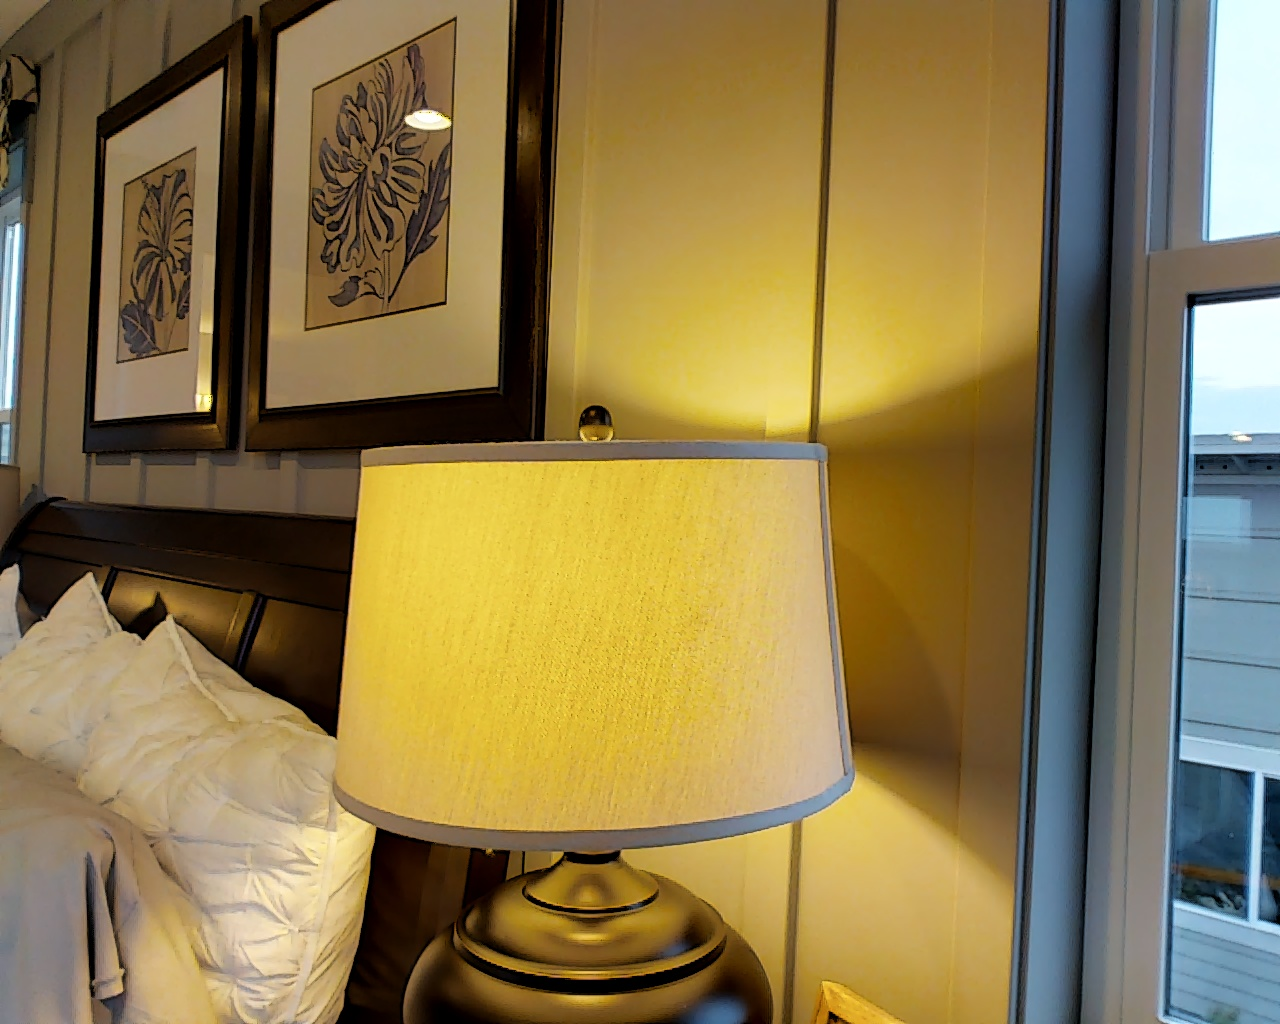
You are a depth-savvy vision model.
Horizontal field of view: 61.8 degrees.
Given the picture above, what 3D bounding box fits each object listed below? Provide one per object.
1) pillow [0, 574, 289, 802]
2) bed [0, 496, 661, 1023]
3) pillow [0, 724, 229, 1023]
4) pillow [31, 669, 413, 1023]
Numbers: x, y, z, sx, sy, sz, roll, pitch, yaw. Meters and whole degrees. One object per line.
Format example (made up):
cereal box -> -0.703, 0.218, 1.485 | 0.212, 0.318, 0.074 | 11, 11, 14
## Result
pillow -> -0.850, 0.240, 1.680 | 0.680, 0.240, 0.280 | 2, -1, 45
bed -> -0.820, 0.410, 1.890 | 2.090, 0.850, 0.240 | 2, -1, 45
pillow -> -0.680, 0.430, 1.100 | 0.520, 0.310, 0.280 | 2, -1, 45
pillow -> -0.510, 0.370, 1.260 | 0.510, 0.290, 0.220 | 2, -1, 45
